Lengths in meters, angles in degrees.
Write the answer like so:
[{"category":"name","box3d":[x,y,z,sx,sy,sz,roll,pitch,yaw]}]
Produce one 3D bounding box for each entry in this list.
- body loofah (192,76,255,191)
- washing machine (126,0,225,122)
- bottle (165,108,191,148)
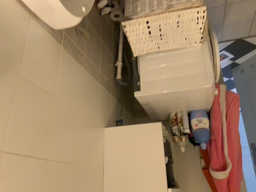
[{"category":"body loofah","box3d":[0.710,0.350,1.600,0.290,0.940,0.280,-9,156,17]},{"category":"washing machine","box3d":[0.370,-0.310,1.730,0.580,0.850,0.630,-9,156,17]},{"category":"bottle","box3d":[0.400,0.260,1.690,0.160,0.260,0.190,-8,156,16]}]
